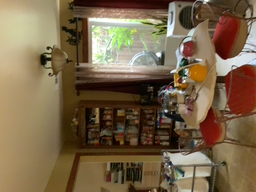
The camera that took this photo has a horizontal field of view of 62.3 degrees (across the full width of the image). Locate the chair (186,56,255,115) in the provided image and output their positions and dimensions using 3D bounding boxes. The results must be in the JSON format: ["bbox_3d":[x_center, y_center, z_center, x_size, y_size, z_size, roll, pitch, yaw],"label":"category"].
[{"bbox_3d":[1.010,-0.060,1.860,0.460,0.840,0.420,128,143,-81],"label":"chair"}]

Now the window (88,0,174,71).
[{"bbox_3d":[0.030,-1.080,3.760,0.160,1.450,1.210,-109,21,-74],"label":"window"}]

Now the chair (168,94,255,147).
[{"bbox_3d":[0.940,0.290,2.390,0.430,0.840,0.460,102,168,-61],"label":"chair"}]

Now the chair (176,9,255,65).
[{"bbox_3d":[0.990,-0.600,2.130,0.460,0.840,0.410,-99,11,-60],"label":"chair"}]
